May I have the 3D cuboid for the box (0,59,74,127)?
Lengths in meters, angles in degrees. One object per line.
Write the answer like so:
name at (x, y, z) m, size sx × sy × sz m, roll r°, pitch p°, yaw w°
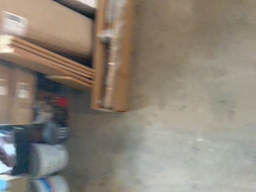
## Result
box at (-1.010, -0.040, 1.780) m, size 0.840 × 0.650 × 0.430 m, roll 6°, pitch 91°, yaw 35°
